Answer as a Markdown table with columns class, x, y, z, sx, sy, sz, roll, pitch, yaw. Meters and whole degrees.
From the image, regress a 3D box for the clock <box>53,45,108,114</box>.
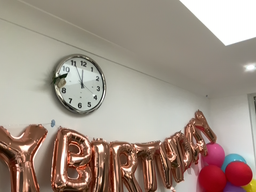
| class | x | y | z | sx | sy | sz | roll | pitch | yaw |
| --- | --- | --- | --- | --- | --- | --- | --- | --- | --- |
| clock | -0.260 | -0.080 | 1.250 | 0.020 | 0.340 | 0.350 | -11 | -17 | 41 |
